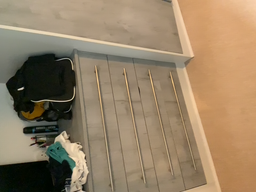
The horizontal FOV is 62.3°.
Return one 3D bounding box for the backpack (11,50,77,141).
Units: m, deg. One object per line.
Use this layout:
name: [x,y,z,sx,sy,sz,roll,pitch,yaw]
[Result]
backpack: [-0.550,0.030,1.320,0.480,0.280,0.410,-30,64,54]
